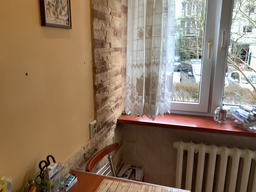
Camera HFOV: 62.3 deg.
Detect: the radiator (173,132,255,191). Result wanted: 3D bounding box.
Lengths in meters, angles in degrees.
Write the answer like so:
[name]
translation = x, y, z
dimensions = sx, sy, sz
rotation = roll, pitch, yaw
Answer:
[radiator]
translation = 0.790, 0.690, 1.710
dimensions = 0.790, 0.620, 0.280
rotation = 5, 15, 19
